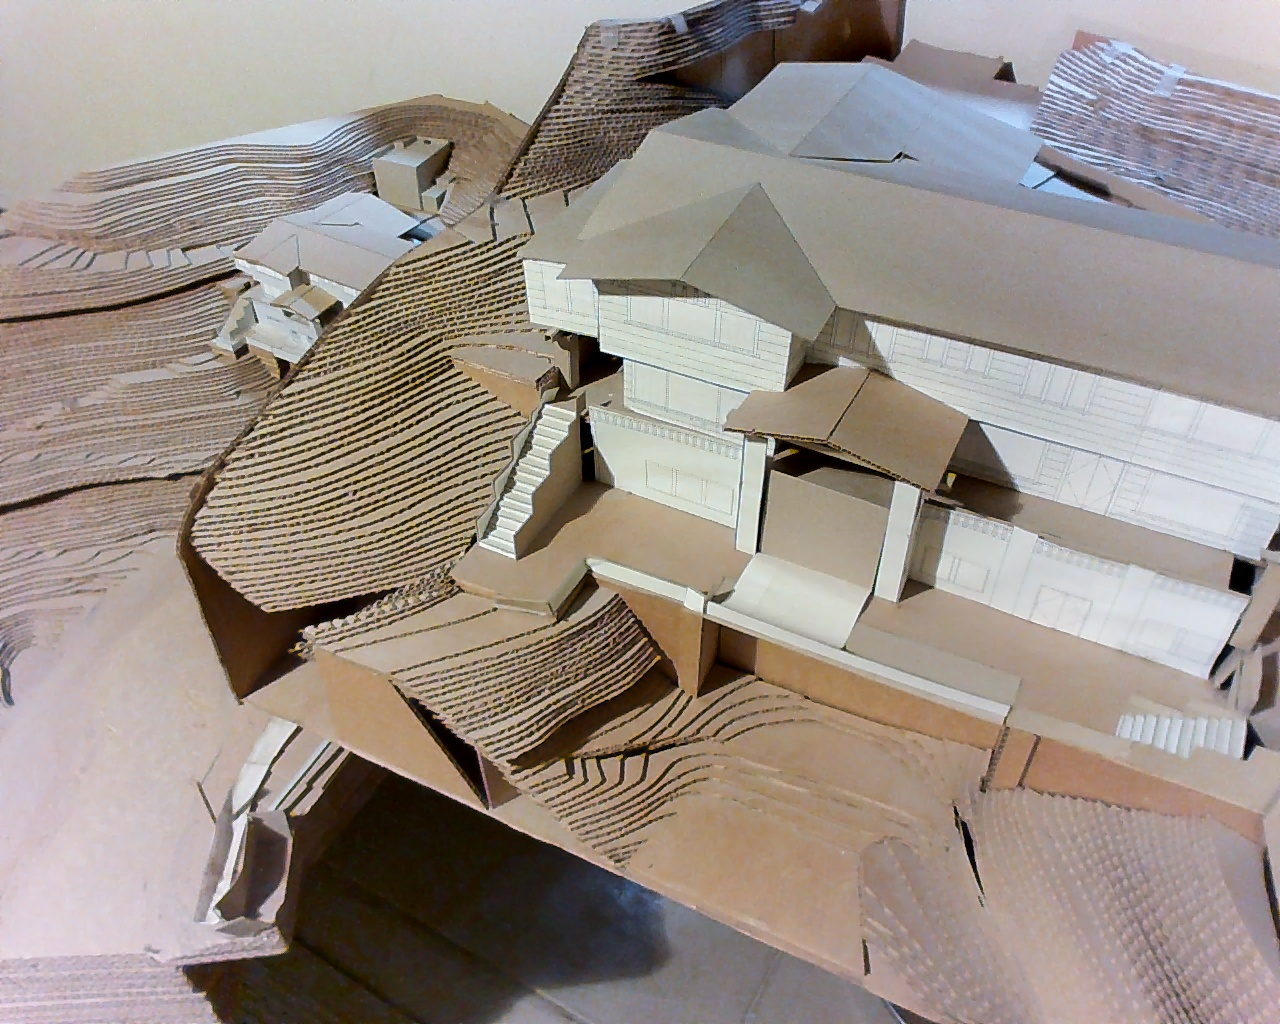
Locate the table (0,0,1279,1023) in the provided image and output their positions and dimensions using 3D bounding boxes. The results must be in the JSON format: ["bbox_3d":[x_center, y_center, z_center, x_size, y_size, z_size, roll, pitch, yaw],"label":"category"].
[{"bbox_3d":[0.460,0.150,1.250,1.380,1.160,1.200,21,46,22],"label":"table"}]

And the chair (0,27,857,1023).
[{"bbox_3d":[-0.630,0.030,1.670,1.310,0.850,1.600,21,46,22],"label":"chair"}]
